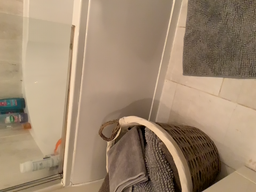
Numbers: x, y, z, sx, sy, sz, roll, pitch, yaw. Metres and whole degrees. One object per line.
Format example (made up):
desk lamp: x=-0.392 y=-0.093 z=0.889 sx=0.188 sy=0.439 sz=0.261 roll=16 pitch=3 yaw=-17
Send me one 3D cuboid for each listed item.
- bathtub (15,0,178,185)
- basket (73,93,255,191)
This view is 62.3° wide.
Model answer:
bathtub: x=-0.280 y=-0.440 z=1.360 sx=0.930 sy=0.580 sz=1.520 roll=28 pitch=114 yaw=45
basket: x=0.130 y=0.310 z=0.980 sx=0.550 sy=0.520 sz=0.470 roll=29 pitch=115 yaw=45
